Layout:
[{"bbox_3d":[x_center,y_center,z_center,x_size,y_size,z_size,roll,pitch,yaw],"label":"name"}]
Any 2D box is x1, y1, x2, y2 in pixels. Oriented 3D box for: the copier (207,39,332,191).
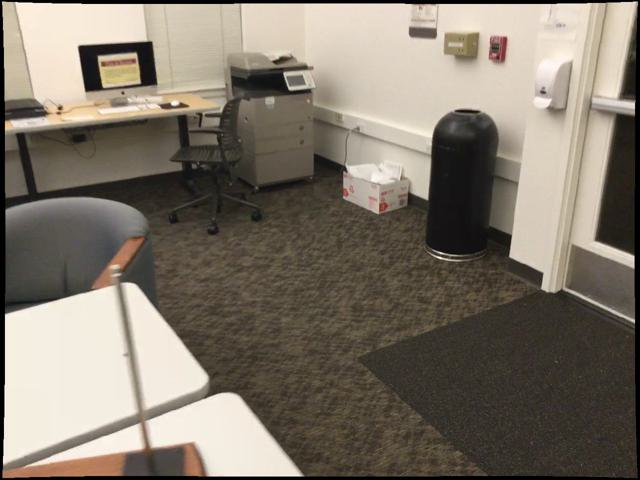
[{"bbox_3d":[-0.410,-1.061,4.750,0.670,1.031,0.810,-16,28,-29],"label":"copier"}]
